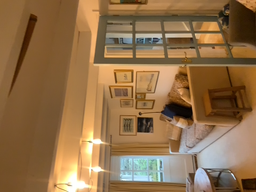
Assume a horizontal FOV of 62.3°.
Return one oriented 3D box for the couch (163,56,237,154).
[{"bbox_3d":[1.250,0.360,4.330,2.270,0.650,1.180,89,-179,-64],"label":"couch"}]
